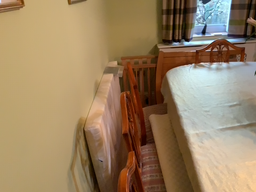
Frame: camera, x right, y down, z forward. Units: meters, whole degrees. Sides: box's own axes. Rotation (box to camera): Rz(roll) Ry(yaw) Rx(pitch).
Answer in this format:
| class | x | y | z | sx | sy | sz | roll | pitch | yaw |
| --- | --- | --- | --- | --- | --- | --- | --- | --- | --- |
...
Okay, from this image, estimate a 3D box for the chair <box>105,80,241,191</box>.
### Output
| class | x | y | z | sx | sy | sz | roll | pitch | yaw |
| --- | --- | --- | --- | --- | --- | --- | --- | --- | --- |
| chair | 0.220 | 0.420 | 1.300 | 0.560 | 0.890 | 0.490 | -2 | 27 | 4 |
